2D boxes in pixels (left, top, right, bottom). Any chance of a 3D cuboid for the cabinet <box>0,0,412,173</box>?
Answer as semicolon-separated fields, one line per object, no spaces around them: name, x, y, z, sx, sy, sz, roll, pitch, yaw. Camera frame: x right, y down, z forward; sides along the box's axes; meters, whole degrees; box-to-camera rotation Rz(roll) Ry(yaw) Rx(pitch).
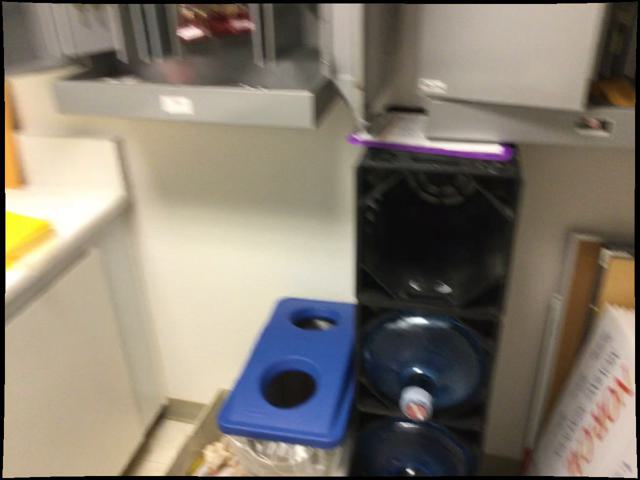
cabinet;-0.340;-0.651;1.130;1.009;0.831;0.470;7;31;13

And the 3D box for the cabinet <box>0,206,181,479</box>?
cabinet;-0.639;0.440;1.590;0.070;0.811;0.770;7;31;13

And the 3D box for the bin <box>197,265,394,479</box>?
bin;-0.020;0.531;1.590;0.330;0.671;0.600;7;31;13
